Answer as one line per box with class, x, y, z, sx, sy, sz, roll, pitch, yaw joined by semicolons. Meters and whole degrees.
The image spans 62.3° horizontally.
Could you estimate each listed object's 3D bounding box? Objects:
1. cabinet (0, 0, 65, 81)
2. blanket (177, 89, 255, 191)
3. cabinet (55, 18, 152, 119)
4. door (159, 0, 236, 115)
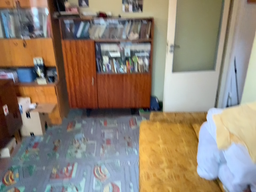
cabinet;-1.500;-0.980;2.970;0.940;1.460;0.430;0;22;0
blanket;0.810;0.310;1.660;0.660;0.450;0.890;1;22;2
cabinet;-0.320;-0.400;3.220;1.260;1.470;0.410;0;22;0
door;0.940;-0.650;2.990;0.870;1.950;0.130;-1;22;-3
